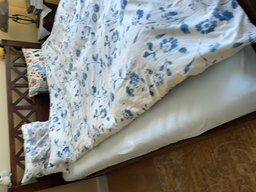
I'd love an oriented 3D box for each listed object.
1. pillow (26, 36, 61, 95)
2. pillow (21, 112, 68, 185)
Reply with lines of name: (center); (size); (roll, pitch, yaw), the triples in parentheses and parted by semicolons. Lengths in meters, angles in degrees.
pillow: (-0.960, -0.330, 2.370); (0.310, 0.260, 0.560); (-40, 58, 50)
pillow: (-0.820, 0.500, 2.040); (0.350, 0.310, 0.590); (-35, 62, 52)
